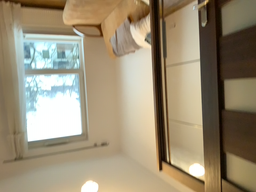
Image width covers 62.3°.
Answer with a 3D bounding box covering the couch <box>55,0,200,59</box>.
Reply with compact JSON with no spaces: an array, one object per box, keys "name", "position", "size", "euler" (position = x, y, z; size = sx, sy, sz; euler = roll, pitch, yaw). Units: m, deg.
[{"name":"couch","position":[-0.240,-1.080,2.660],"size":[1.040,0.970,2.030],"euler":[-4,-177,-24]}]
